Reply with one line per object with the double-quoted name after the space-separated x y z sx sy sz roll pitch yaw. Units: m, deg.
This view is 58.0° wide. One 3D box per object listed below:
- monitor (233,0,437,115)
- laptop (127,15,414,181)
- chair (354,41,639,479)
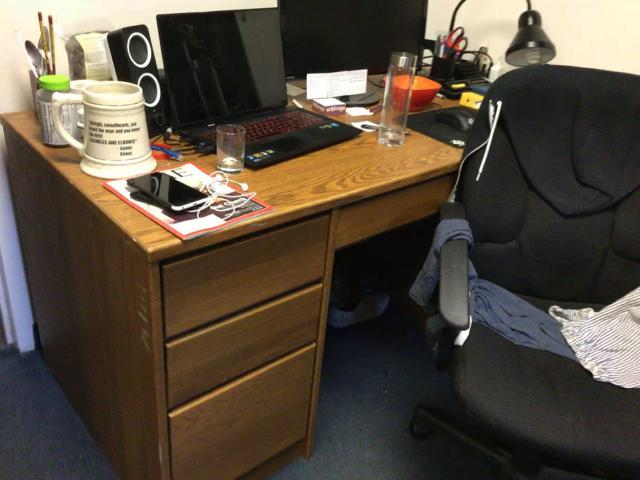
0.060 -0.600 1.670 0.620 0.360 0.170 -19 38 -38 "monitor"
-0.120 -0.380 1.410 0.520 0.240 0.420 -19 38 -38 "laptop"
0.550 0.190 1.260 0.760 0.990 0.820 3 29 -5 "chair"
